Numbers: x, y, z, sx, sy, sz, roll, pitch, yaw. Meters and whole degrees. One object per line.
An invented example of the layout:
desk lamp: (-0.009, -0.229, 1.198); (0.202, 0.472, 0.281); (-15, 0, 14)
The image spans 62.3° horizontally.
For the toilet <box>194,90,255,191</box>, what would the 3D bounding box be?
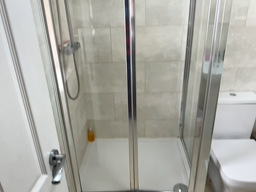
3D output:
toilet: (0.820, 0.430, 1.620); (0.410, 0.790, 0.590); (0, 25, 4)
